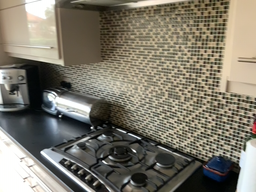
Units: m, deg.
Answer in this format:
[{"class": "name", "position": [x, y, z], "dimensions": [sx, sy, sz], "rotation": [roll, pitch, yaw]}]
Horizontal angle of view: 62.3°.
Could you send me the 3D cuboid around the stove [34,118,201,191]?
[{"class": "stove", "position": [-0.070, 0.300, 1.110], "dimensions": [0.700, 0.040, 0.530], "rotation": [15, 21, 41]}]
